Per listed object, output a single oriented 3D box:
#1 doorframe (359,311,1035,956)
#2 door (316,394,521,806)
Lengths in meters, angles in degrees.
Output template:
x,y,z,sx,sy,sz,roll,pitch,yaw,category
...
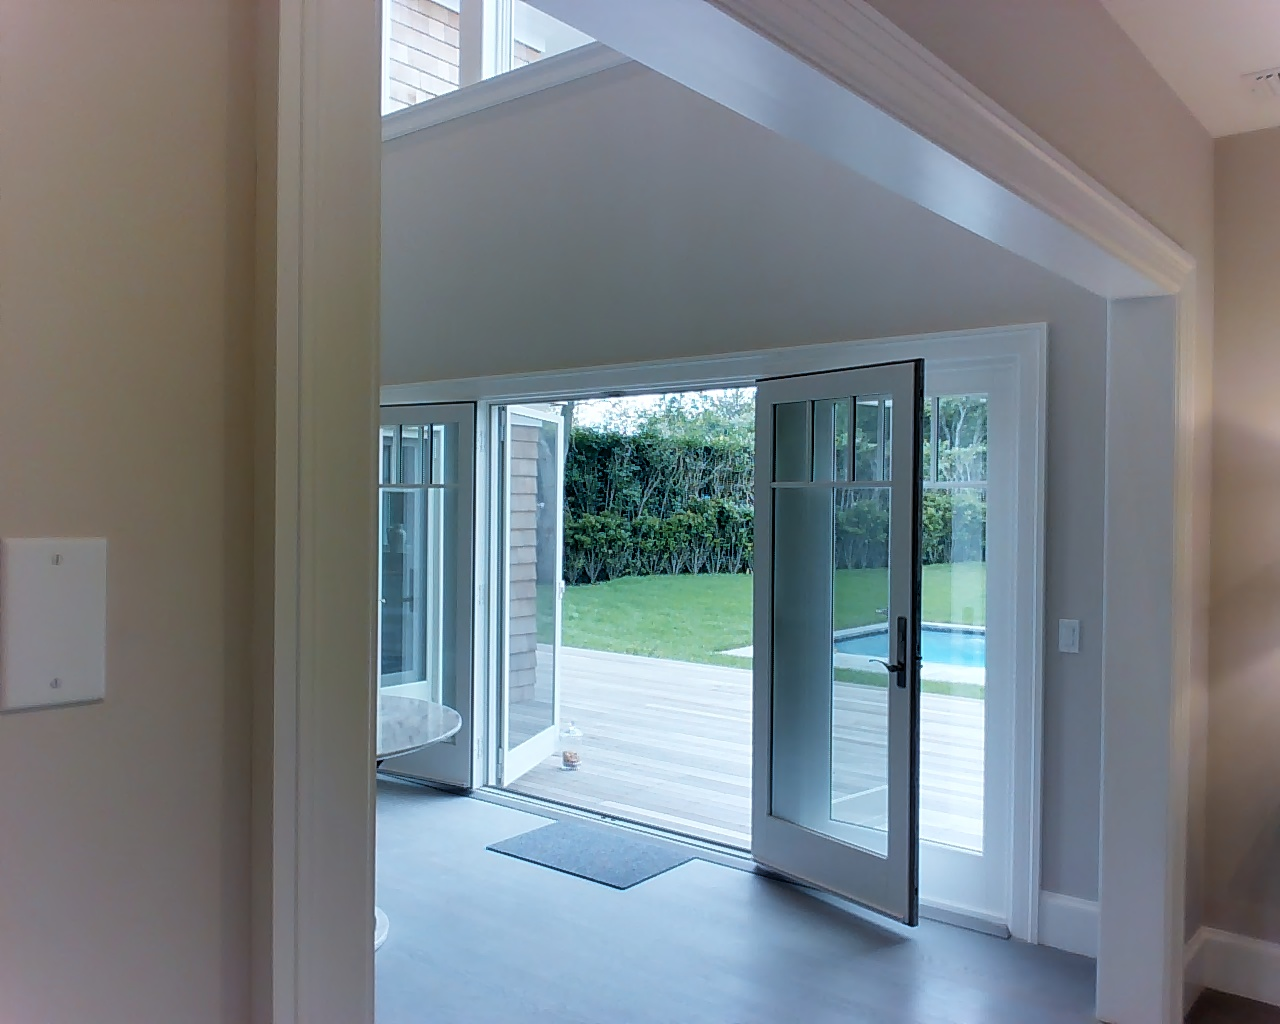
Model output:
x,y,z,sx,sy,sz,roll,pitch,yaw,category
-0.060,0.420,5.190,3.770,2.330,0.310,1,0,39,doorframe
-1.240,0.440,5.970,1.030,2.080,0.570,1,0,39,door
